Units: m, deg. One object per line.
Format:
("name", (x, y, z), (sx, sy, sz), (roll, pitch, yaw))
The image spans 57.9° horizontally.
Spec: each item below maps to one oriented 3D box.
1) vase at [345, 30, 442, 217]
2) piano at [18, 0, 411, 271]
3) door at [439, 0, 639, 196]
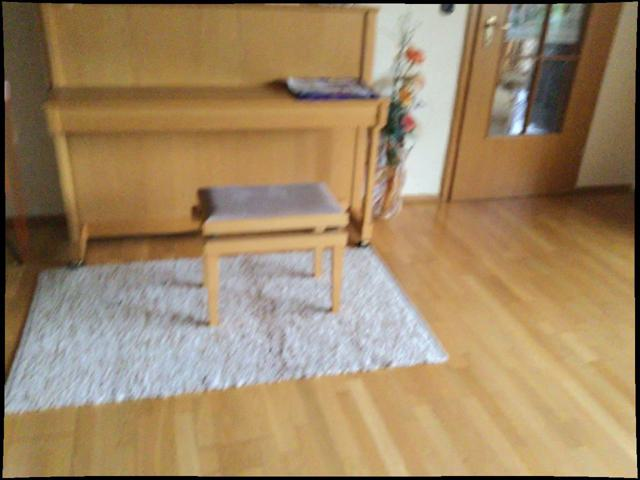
("vase", (0.370, -0.611, 3.100), (0.330, 0.931, 0.280), (-4, 28, -14))
("piano", (-0.450, -0.581, 2.690), (1.479, 1.201, 0.590), (-4, 28, -15))
("door", (1.299, -1.201, 3.260), (0.969, 1.962, 0.140), (-4, 28, -15))
